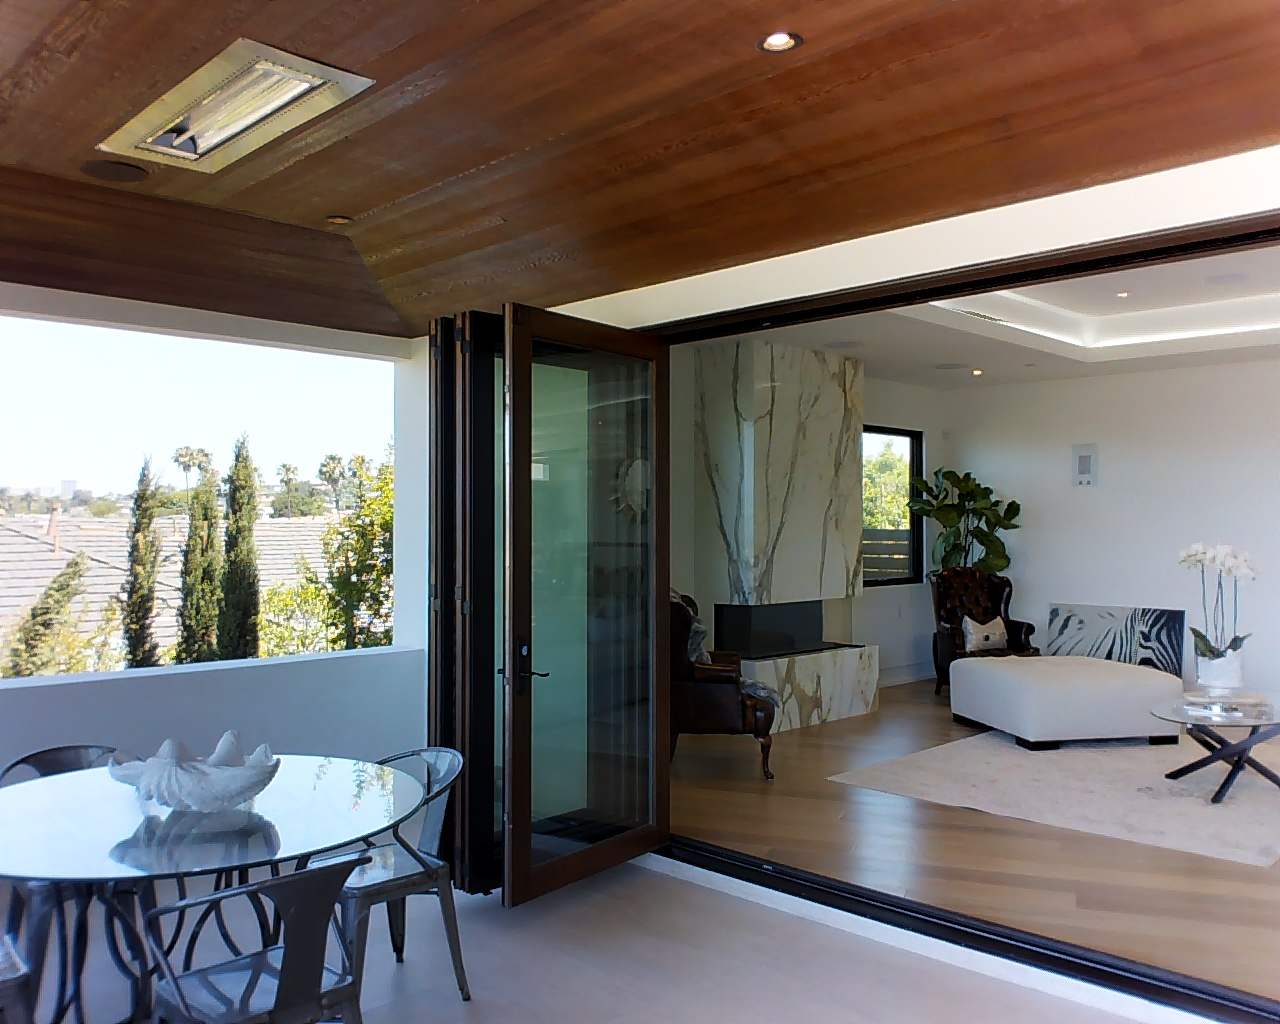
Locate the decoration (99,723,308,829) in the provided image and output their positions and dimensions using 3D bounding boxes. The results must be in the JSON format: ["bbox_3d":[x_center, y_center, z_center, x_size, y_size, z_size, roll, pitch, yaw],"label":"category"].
[{"bbox_3d":[-1.270,0.750,3.120,0.440,0.160,0.460,0,-1,-40],"label":"decoration"}]
